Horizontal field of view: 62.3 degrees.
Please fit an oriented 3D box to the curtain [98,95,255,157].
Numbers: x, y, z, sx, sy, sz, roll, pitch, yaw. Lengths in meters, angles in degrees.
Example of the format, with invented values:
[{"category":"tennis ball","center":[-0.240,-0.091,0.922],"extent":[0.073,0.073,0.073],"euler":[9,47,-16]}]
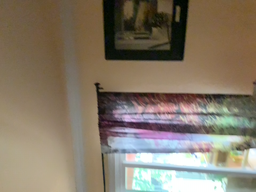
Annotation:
[{"category":"curtain","center":[0.790,0.270,1.860],"extent":[0.210,2.070,0.430],"euler":[-72,-16,-67]}]
